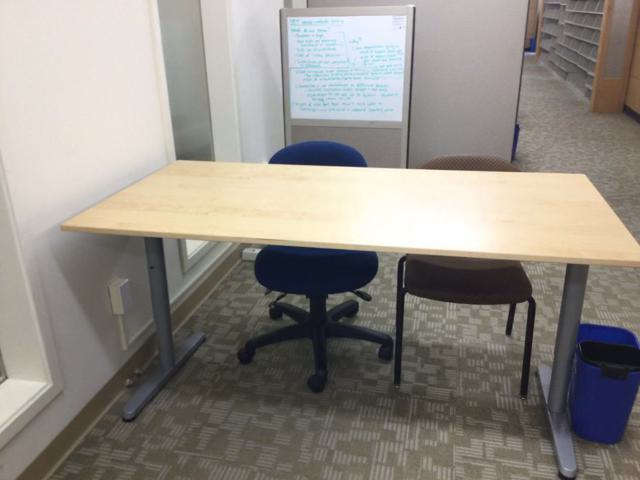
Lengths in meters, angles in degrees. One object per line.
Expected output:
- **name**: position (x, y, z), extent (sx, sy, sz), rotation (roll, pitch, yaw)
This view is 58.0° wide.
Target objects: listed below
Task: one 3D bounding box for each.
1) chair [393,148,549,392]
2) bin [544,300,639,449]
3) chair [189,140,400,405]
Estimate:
- **chair**: position (0.530, 0.080, 2.180), extent (0.460, 0.720, 0.570), rotation (2, 24, 11)
- **bin**: position (0.930, 0.440, 1.950), extent (0.240, 0.340, 0.340), rotation (2, 24, 11)
- **chair**: position (-0.030, 0.080, 2.280), extent (0.640, 0.800, 0.680), rotation (2, 24, 11)
